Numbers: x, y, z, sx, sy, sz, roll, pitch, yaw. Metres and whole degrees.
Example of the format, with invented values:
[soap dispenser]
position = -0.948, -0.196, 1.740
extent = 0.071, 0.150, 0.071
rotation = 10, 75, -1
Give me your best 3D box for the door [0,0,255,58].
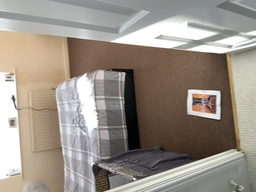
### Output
[door]
position = 0.050, -0.290, 0.610
extent = 0.880, 1.950, 0.050
rotation = -10, 85, 56
